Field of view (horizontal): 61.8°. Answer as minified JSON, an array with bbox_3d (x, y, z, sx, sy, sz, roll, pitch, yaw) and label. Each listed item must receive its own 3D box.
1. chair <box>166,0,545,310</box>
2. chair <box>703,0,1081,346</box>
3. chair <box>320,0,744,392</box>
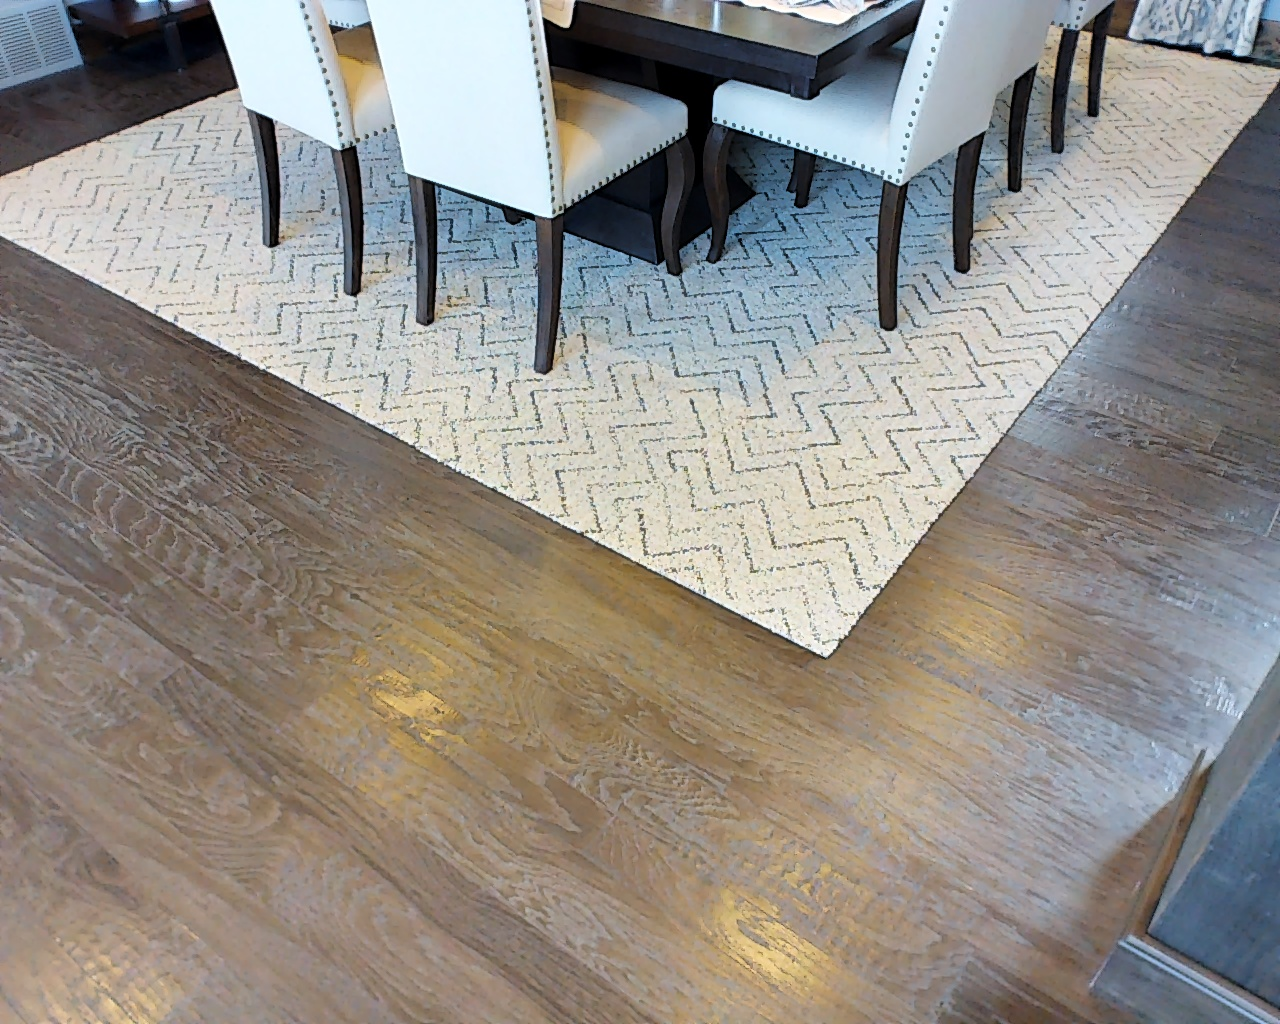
[{"bbox_3d":[-0.690,-1.160,2.670,0.550,0.990,0.660,26,48,26],"label":"chair"},{"bbox_3d":[0.600,-1.060,2.560,0.640,1.010,0.590,26,48,26],"label":"chair"},{"bbox_3d":[-0.210,-0.940,2.410,0.590,0.990,0.690,26,48,26],"label":"chair"}]
